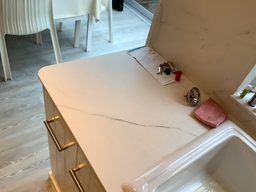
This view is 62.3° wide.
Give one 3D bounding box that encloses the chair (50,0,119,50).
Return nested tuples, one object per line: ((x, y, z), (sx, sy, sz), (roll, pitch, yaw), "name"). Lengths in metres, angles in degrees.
((-0.530, -1.090, 2.530), (0.600, 0.790, 0.530), (-23, 56, -34), "chair")

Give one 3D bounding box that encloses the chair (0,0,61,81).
((-1.000, -0.680, 1.970), (0.530, 0.790, 0.580), (-20, 54, -32), "chair")
